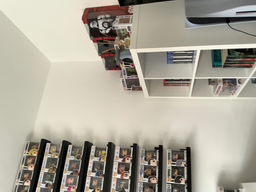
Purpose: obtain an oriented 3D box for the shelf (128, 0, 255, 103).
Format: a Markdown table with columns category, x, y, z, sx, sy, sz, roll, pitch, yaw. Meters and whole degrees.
| category | x | y | z | sx | sy | sz | roll | pitch | yaw |
| --- | --- | --- | --- | --- | --- | --- | --- | --- | --- |
| shelf | 0.810 | -0.300 | 1.500 | 0.790 | 1.470 | 0.430 | 65 | -152 | -65 |
